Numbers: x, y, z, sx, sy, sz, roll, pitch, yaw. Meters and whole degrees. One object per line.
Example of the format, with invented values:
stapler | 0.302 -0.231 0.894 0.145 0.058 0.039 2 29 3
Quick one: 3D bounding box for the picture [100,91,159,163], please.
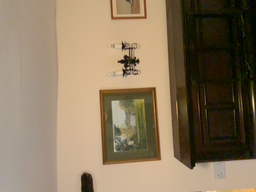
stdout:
picture | 0.010 0.230 1.600 0.050 0.430 0.520 133 136 -85
